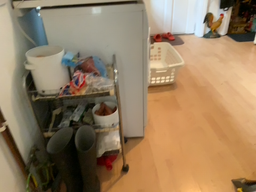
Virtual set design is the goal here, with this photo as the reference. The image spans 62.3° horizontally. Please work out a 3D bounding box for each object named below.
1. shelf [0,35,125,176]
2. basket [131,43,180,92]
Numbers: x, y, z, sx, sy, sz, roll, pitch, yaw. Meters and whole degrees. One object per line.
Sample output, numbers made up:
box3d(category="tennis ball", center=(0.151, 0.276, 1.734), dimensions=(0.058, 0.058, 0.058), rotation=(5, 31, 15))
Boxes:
box3d(category="shelf", center=(-0.270, 0.070, 1.110), dimensions=(0.450, 0.680, 0.240), rotation=(-6, 33, -6))
box3d(category="basket", center=(0.250, -0.310, 2.140), dimensions=(0.360, 0.240, 0.560), rotation=(-5, 33, -5))
